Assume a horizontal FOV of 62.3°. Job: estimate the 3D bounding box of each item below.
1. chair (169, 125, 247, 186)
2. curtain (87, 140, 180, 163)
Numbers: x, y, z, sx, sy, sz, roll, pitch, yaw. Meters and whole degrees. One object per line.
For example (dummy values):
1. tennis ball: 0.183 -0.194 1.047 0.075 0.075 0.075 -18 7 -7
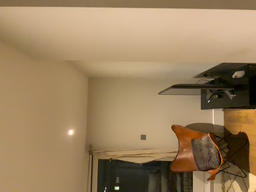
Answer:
1. chair: 1.130 0.840 3.180 0.710 0.890 0.730 83 -171 -86
2. curtain: 0.090 0.930 3.550 0.150 1.510 0.320 81 -170 -86
